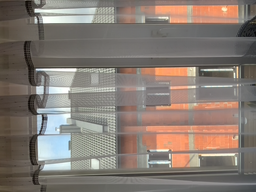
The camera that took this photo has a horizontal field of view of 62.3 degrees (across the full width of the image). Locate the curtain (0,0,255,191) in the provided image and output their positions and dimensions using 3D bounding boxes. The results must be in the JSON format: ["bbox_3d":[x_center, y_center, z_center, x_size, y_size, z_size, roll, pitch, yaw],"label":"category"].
[{"bbox_3d":[0.190,-0.220,0.770,0.220,1.620,1.870,-124,35,-85],"label":"curtain"}]
